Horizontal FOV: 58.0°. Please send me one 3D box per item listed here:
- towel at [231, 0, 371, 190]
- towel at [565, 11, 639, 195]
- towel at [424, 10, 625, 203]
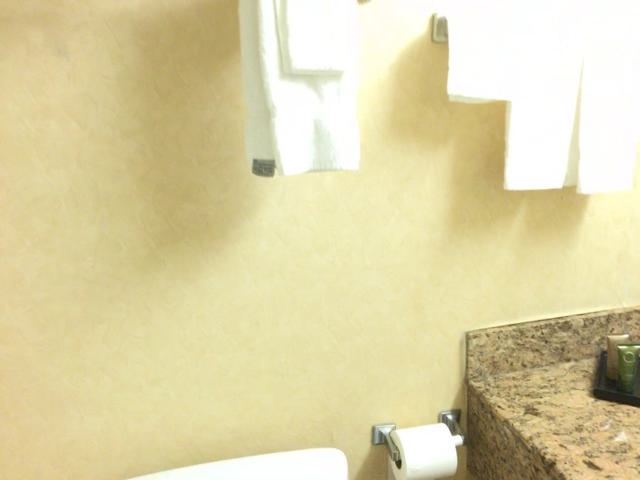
[{"bbox_3d":[-0.030,-0.260,0.870,0.180,0.340,0.130,-5,15,-14],"label":"towel"},{"bbox_3d":[0.550,-0.250,1.070,0.160,0.320,0.040,-5,15,-14],"label":"towel"},{"bbox_3d":[0.360,-0.240,1.040,0.320,0.310,0.100,-5,15,-14],"label":"towel"}]
